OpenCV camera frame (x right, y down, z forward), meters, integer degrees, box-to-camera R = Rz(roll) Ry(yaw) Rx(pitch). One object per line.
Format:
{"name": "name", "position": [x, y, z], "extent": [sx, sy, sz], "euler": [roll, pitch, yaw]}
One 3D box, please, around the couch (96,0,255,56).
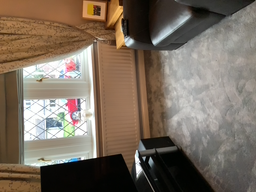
{"name": "couch", "position": [0.270, -1.050, 1.830], "extent": [1.040, 0.860, 1.060], "euler": [156, 111, -65]}

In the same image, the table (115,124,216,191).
{"name": "table", "position": [0.380, 0.950, 2.070], "extent": [1.430, 0.540, 0.550], "euler": [-124, 39, -52]}
